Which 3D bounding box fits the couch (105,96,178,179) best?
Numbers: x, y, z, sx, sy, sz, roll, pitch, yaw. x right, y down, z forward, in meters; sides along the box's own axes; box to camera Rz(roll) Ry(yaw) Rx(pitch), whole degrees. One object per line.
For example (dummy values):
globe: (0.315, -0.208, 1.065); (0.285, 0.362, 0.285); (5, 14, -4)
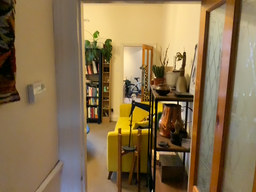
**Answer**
couch: (0.190, 0.560, 3.780); (0.940, 0.750, 1.980); (2, 10, 1)
